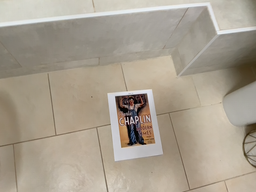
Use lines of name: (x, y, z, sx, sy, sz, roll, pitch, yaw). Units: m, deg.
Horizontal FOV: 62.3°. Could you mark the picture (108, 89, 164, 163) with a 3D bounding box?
picture: (0.030, 0.120, 0.920, 0.210, 0.020, 0.300, -4, 75, -10)
